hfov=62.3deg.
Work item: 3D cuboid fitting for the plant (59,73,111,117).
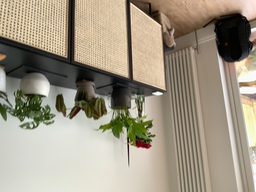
[{"bbox_3d":[-0.300,0.010,1.490,0.230,0.240,0.270,-13,164,38],"label":"plant"}]

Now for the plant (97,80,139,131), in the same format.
[{"bbox_3d":[-0.080,0.090,1.650,0.220,0.350,0.220,-13,164,38],"label":"plant"}]
